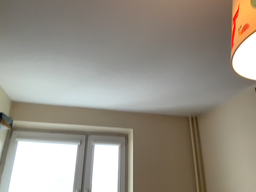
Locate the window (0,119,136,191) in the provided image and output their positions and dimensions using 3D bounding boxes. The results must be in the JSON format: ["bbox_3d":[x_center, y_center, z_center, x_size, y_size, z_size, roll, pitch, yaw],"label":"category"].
[{"bbox_3d":[-0.730,1.090,2.390,1.660,1.530,0.160,7,-24,-14],"label":"window"}]
